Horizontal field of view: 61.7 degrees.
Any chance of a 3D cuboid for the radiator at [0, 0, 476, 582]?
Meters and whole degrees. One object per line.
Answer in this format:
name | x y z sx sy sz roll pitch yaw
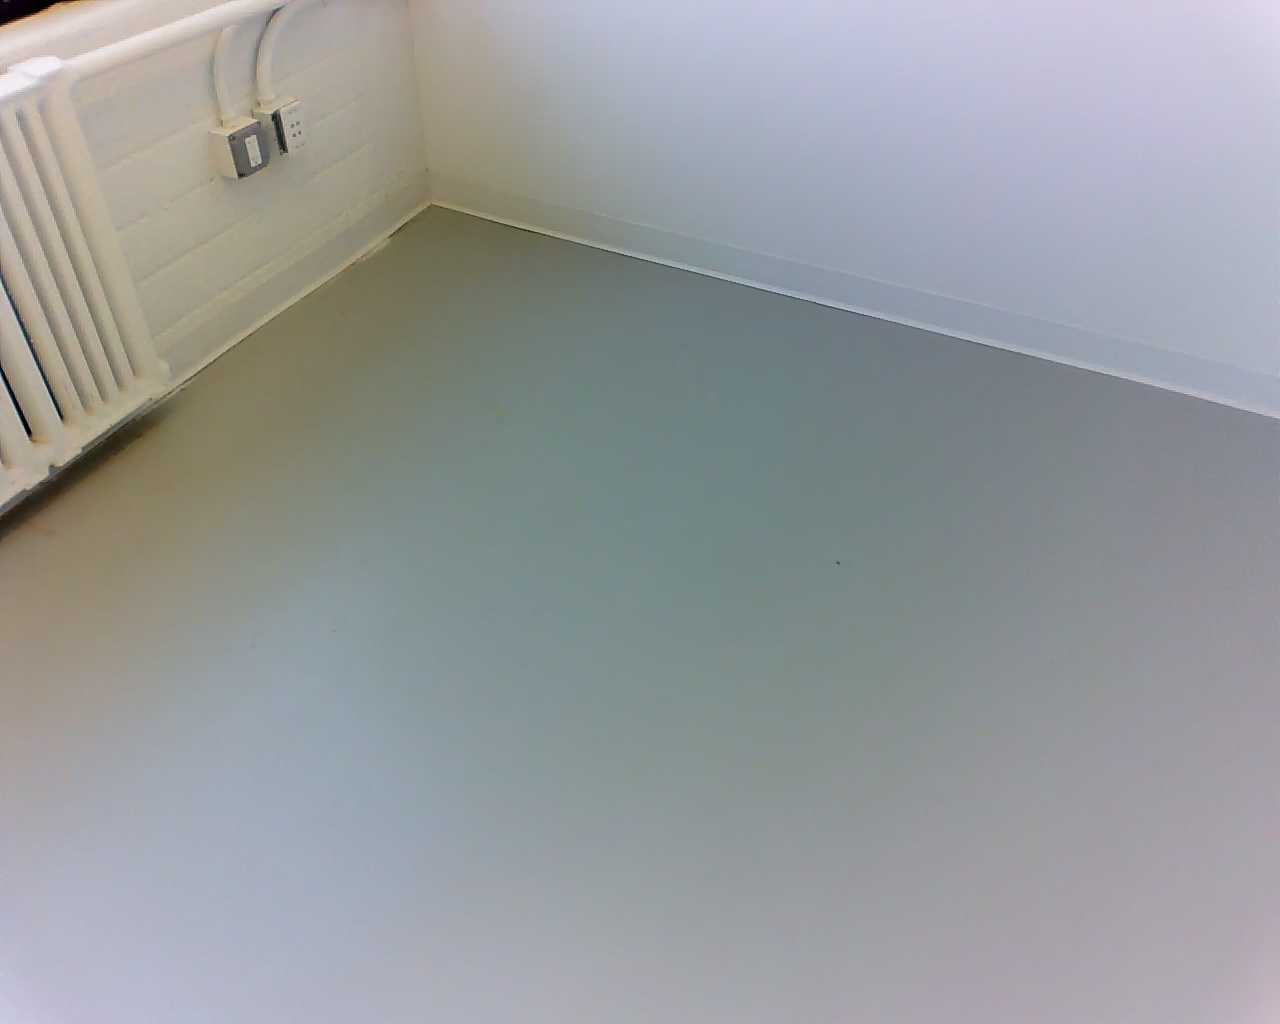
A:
radiator | -1.660 0.240 1.350 0.170 0.820 4.820 18 45 20
